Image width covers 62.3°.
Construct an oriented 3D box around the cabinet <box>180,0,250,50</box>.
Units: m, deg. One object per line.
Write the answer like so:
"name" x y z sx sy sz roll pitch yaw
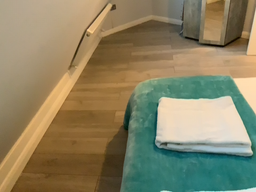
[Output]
"cabinet" 1.270 -1.720 2.990 0.560 1.870 0.780 -28 40 -27
